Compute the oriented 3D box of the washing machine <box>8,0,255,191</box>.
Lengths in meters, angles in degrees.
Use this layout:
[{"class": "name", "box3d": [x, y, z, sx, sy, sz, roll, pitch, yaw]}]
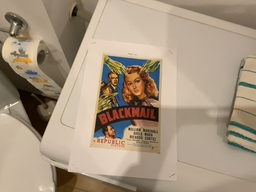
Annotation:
[{"class": "washing machine", "box3d": [0.100, 0.110, 0.870, 0.620, 0.850, 0.510, 14, 73, -2]}]
